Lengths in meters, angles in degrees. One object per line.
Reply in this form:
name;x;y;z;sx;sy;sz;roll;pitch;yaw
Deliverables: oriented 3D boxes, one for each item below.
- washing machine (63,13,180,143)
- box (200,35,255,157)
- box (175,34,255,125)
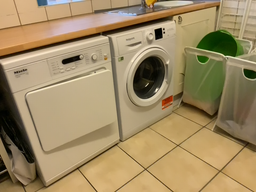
washing machine;-0.040;-0.220;1.850;0.640;0.830;0.670;-25;35;-32
box;0.950;-0.040;1.580;0.600;0.630;0.470;-24;35;-31
box;0.780;-0.180;1.910;0.620;0.580;0.370;-24;35;-31
